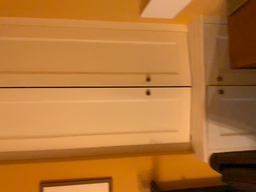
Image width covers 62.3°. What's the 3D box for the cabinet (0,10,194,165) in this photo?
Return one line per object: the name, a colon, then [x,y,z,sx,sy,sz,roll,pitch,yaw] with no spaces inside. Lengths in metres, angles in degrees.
cabinet: [-0.360,-0.080,1.890,0.340,1.820,1.180,170,99,-80]
